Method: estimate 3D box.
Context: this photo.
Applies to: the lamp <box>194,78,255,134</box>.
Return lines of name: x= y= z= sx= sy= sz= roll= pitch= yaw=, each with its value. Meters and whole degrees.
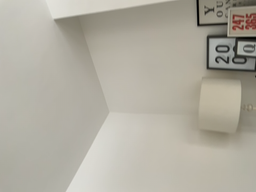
lamp: x=1.430 y=0.110 z=1.800 sx=0.510 sy=1.630 sz=0.450 roll=21 pitch=-110 yaw=-69
